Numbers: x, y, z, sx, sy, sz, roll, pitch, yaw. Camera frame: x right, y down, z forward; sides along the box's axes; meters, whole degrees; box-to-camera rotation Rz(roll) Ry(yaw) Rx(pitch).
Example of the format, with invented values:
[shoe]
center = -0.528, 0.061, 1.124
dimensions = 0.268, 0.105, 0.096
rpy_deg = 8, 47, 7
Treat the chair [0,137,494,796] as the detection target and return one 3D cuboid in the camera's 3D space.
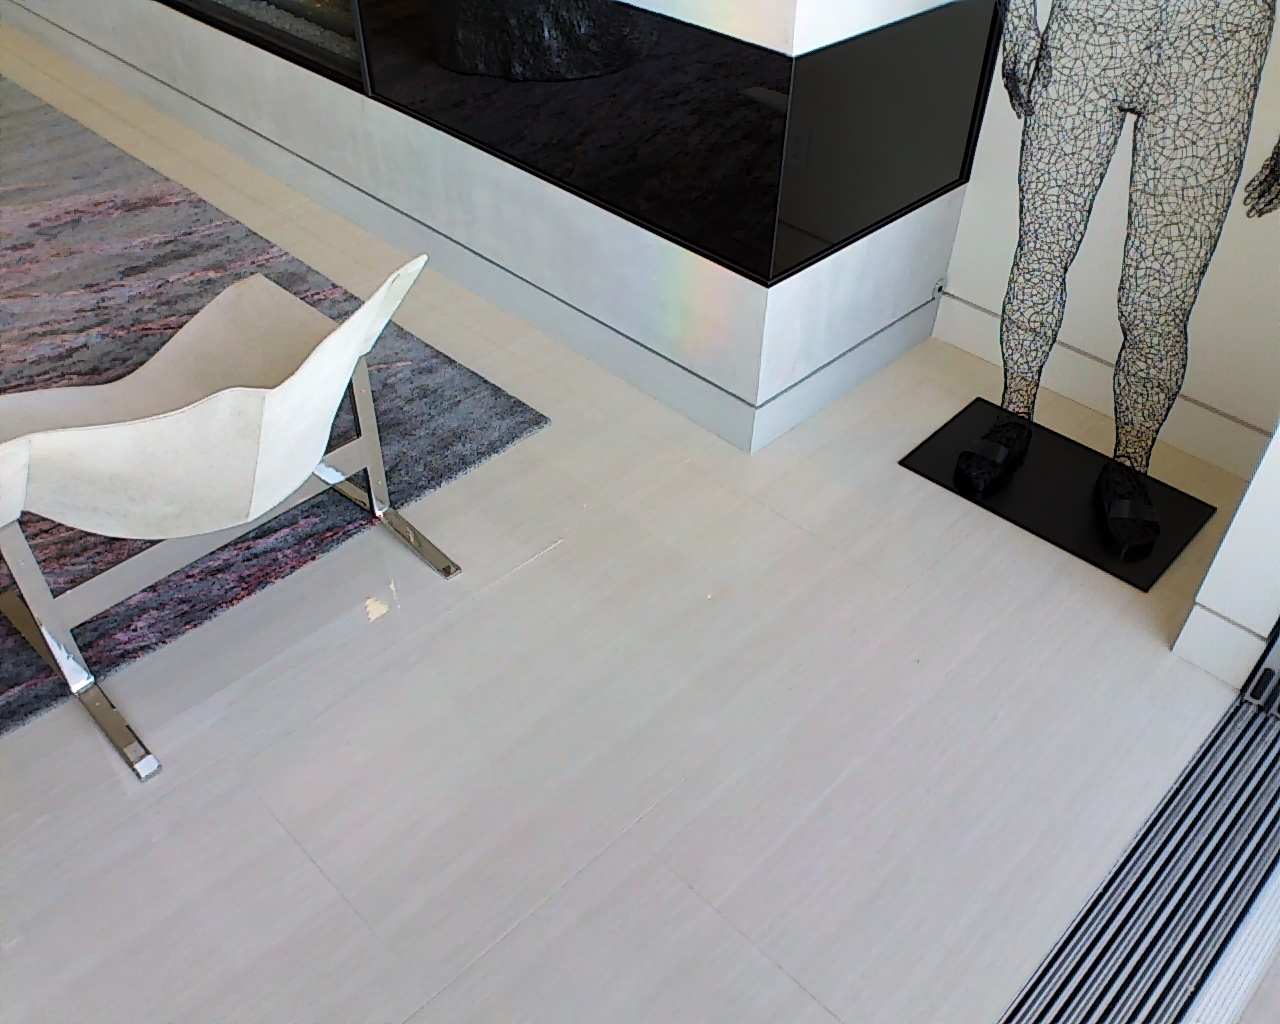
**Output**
[chair]
center = -0.810, -0.130, 1.930
dimensions = 0.700, 0.680, 0.760
rpy_deg = 32, 51, 30
